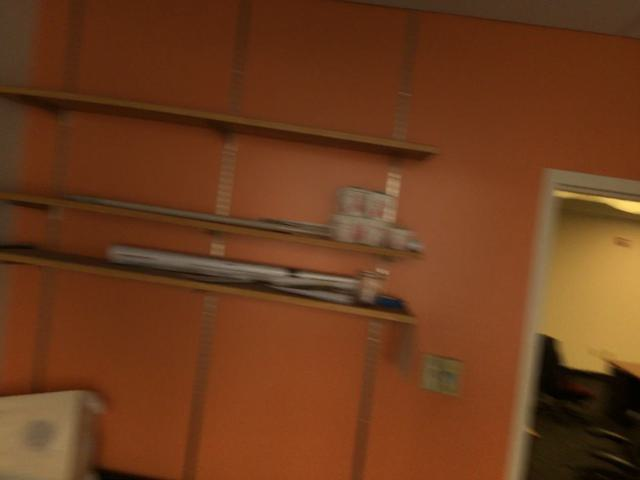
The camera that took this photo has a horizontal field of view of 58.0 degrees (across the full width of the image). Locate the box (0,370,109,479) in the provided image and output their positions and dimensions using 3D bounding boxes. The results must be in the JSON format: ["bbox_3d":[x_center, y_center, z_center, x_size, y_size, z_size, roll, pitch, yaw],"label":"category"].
[{"bbox_3d":[-1.010,0.690,1.970,0.410,0.370,0.330,7,-1,3],"label":"box"}]
